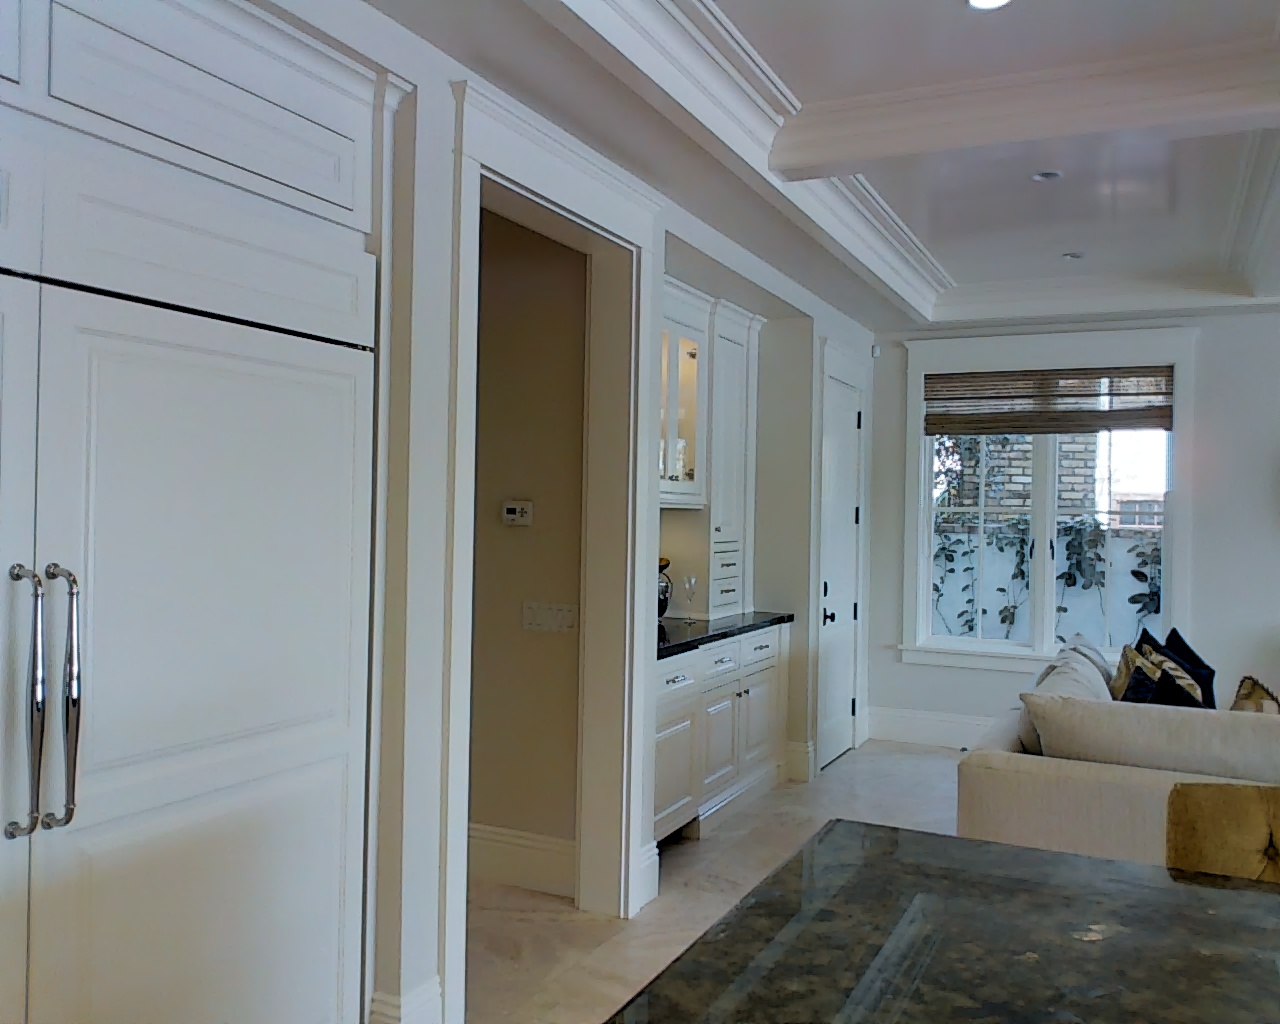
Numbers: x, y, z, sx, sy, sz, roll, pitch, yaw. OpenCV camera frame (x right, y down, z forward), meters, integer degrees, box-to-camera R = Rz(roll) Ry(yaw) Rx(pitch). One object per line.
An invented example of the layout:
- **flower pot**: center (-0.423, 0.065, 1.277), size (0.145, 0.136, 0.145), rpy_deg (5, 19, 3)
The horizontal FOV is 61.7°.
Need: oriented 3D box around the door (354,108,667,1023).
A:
- **door**: center (-0.360, 0.180, 3.560), size (0.350, 2.561, 1.240), rpy_deg (1, 0, 27)
